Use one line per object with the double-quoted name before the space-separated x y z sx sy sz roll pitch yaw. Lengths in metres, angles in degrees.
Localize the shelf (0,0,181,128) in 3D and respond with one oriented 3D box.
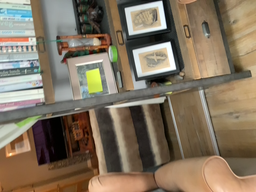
"shelf" -0.570 -0.520 1.180 0.350 1.520 1.300 -24 78 65
